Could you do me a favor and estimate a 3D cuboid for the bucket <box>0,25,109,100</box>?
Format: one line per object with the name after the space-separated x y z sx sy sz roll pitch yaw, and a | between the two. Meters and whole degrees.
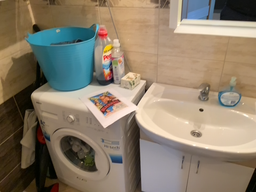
-0.430 -0.230 1.320 0.490 0.290 0.350 10 36 18 | bucket
